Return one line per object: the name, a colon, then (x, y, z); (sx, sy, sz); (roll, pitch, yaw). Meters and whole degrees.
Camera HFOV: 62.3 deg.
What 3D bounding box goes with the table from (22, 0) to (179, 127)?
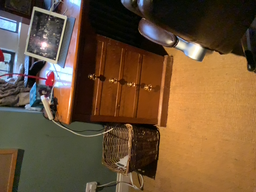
table: (-0.230, -0.650, 1.790); (0.940, 0.830, 1.680); (4, 87, 51)
